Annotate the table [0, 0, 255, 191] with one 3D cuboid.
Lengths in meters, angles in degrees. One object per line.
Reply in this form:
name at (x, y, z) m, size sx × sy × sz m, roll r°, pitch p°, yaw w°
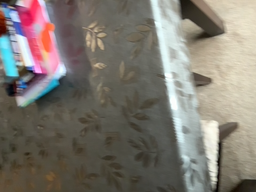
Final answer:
table at (-0.160, 0.140, 1.130) m, size 1.260 × 0.770 × 0.920 m, roll -14°, pitch 82°, yaw 37°
